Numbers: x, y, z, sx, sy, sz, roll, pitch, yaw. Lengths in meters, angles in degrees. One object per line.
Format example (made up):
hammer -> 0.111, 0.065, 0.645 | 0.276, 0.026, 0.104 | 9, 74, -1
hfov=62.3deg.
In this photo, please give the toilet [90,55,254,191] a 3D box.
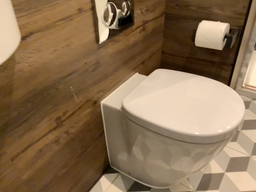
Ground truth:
toilet -> 0.180, 0.150, 0.930 | 0.490, 0.450, 0.390 | 20, 41, 28
